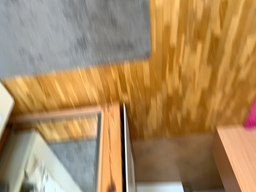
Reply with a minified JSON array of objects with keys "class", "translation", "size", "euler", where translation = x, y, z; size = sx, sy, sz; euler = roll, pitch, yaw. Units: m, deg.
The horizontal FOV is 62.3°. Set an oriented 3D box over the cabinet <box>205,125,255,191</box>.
[{"class":"cabinet","translation":[1.030,0.820,2.110],"size":[0.140,0.920,0.490],"euler":[-6,138,1]}]
